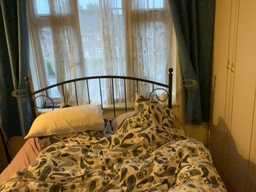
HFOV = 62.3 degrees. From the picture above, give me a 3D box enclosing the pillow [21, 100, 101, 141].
[{"bbox_3d":[-0.600,0.220,2.040,0.630,0.210,0.420,-4,16,-1],"label":"pillow"}]
